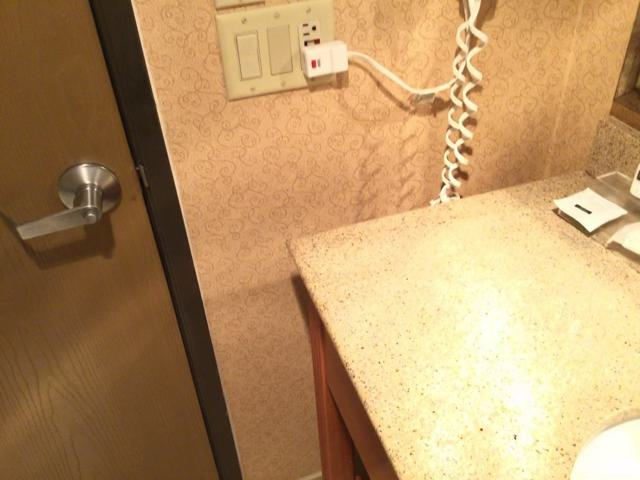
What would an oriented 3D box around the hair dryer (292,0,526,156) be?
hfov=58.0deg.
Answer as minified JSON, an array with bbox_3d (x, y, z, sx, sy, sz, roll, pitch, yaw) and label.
[{"bbox_3d":[0.120,-0.340,0.770,0.300,0.400,0.100,-14,39,-14],"label":"hair dryer"}]
